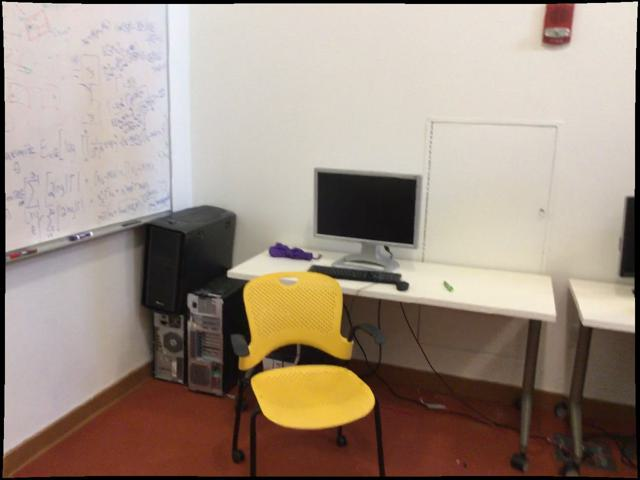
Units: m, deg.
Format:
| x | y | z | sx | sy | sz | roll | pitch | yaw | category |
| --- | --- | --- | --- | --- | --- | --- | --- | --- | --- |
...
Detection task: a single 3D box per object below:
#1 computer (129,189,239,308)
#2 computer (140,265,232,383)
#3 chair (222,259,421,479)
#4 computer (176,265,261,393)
| x | y | z | sx | sy | sz | roll | pitch | yaw | category |
| --- | --- | --- | --- | --- | --- | --- | --- | --- | --- |
| -0.729 | 0.020 | 3.180 | 0.320 | 0.490 | 0.590 | 8 | 15 | 17 | computer |
| -0.739 | 0.450 | 3.260 | 0.250 | 0.460 | 0.550 | 8 | 15 | 17 | computer |
| -0.040 | 0.551 | 2.340 | 0.490 | 0.751 | 0.680 | -4 | 17 | -29 | chair |
| -0.539 | 0.460 | 3.100 | 0.310 | 0.541 | 0.350 | 8 | 15 | 17 | computer |
